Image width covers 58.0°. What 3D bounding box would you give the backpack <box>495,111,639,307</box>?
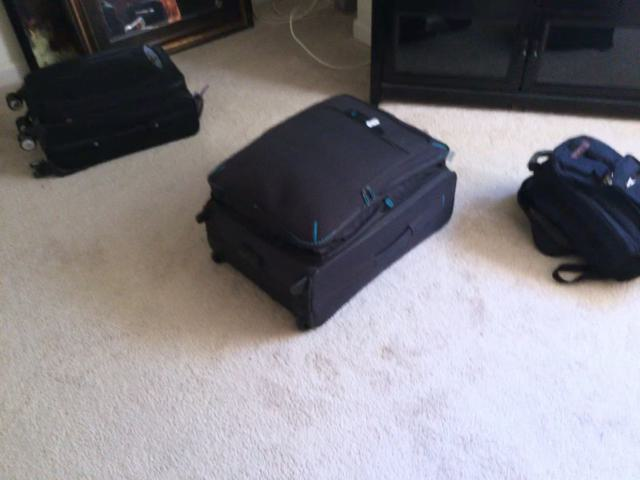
[{"bbox_3d":[0.790,-0.110,1.620,0.310,0.260,0.480,-28,43,-21],"label":"backpack"}]
